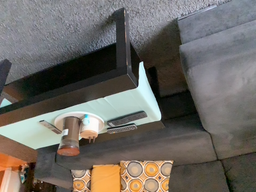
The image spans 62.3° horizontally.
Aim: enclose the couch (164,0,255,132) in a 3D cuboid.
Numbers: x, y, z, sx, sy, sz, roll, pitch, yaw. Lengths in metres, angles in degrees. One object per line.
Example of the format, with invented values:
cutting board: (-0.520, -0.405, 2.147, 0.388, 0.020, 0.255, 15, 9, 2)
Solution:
couch: (0.770, -0.220, 1.130, 0.950, 0.410, 0.650, -16, 143, 19)
